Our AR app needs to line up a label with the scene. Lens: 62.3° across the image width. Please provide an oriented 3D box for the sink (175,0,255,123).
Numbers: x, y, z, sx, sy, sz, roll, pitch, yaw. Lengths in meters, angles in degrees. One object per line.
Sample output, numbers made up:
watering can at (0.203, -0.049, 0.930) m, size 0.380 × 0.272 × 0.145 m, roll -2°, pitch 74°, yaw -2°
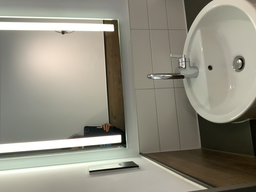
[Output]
sink at (0.400, -0.130, 0.820) m, size 0.480 × 0.200 × 0.450 m, roll 149°, pitch 117°, yaw -77°

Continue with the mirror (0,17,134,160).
mirror at (-0.500, -0.040, 0.890) m, size 0.060 × 1.020 × 0.590 m, roll 144°, pitch 123°, yaw -75°
